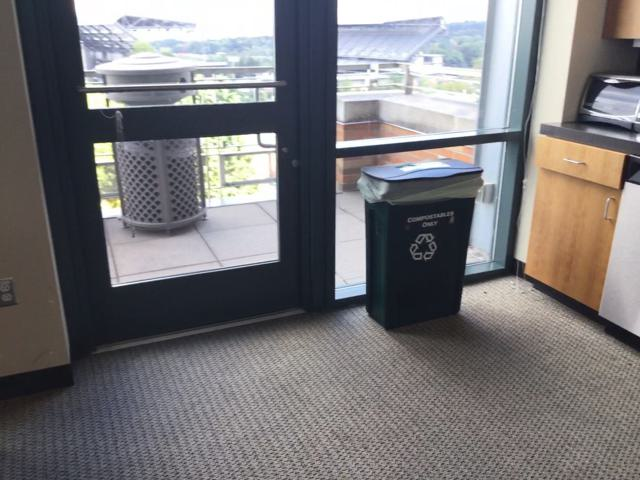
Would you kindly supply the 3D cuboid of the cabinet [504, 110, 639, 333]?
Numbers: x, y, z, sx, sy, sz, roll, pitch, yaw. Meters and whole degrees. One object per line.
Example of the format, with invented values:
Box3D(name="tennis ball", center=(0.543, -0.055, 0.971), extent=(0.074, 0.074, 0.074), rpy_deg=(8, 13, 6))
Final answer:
Box3D(name="cabinet", center=(1.390, -0.130, 2.790), extent=(0.640, 0.880, 0.620), rpy_deg=(-6, 21, -15))
